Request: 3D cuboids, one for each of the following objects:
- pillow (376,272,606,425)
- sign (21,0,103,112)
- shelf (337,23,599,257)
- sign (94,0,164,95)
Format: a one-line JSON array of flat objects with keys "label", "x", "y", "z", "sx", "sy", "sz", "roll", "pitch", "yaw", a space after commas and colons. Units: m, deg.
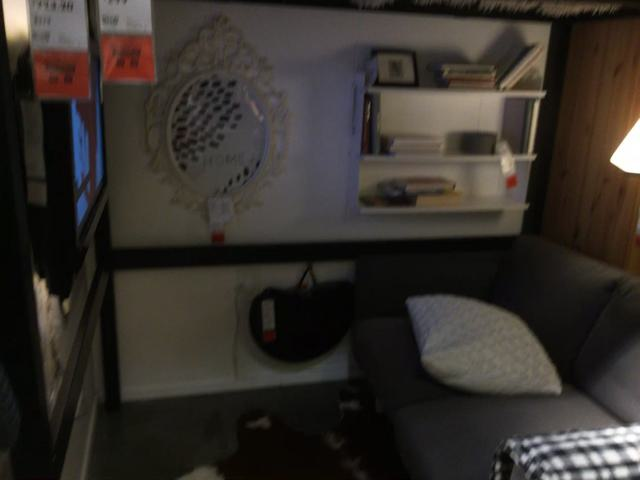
[{"label": "pillow", "x": 0.560, "y": 0.350, "z": 2.070, "sx": 0.570, "sy": 0.230, "sz": 0.600, "roll": -4, "pitch": 18, "yaw": -10}, {"label": "sign", "x": -0.380, "y": -0.330, "z": 0.830, "sx": 0.080, "sy": 0.280, "sz": 0.030, "roll": -6, "pitch": 18, "yaw": -9}, {"label": "shelf", "x": 0.580, "y": -0.420, "z": 2.400, "sx": 0.980, "sy": 0.880, "sz": 0.250, "roll": -4, "pitch": 18, "yaw": -10}, {"label": "sign", "x": -0.290, "y": -0.360, "z": 0.850, "sx": 0.080, "sy": 0.280, "sz": 0.020, "roll": -6, "pitch": 18, "yaw": -9}]
